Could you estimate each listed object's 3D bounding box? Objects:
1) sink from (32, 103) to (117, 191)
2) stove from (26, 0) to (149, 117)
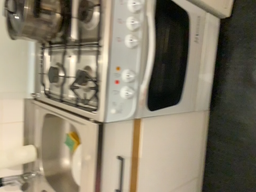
[{"bbox_3d":[-0.260,0.260,0.950,0.400,0.170,0.390,11,99,45],"label":"sink"},{"bbox_3d":[-0.220,-0.220,0.900,0.620,0.180,0.490,11,99,45],"label":"stove"}]
